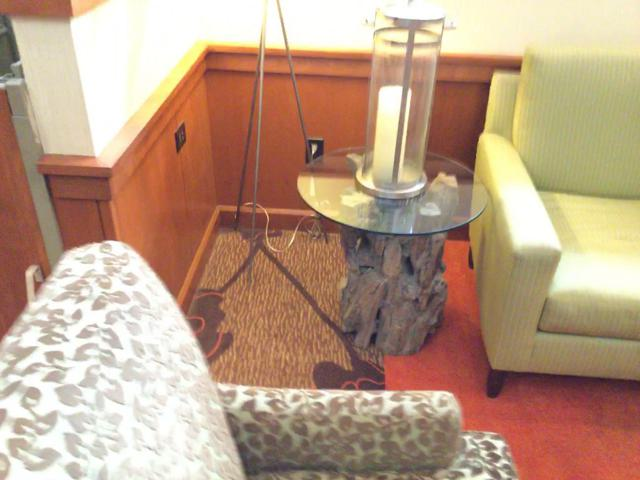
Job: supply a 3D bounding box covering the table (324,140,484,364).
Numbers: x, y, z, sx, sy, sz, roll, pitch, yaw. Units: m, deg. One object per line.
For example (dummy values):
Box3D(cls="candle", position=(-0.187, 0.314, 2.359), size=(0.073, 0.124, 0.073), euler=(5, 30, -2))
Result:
Box3D(cls="table", position=(0.270, 0.030, 2.090), size=(0.460, 0.600, 0.510), euler=(3, 33, 4))
